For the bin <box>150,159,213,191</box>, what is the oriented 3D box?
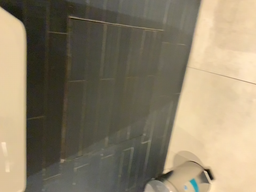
[{"bbox_3d":[0.230,0.400,0.920,0.140,0.240,0.130,25,114,43],"label":"bin"}]
